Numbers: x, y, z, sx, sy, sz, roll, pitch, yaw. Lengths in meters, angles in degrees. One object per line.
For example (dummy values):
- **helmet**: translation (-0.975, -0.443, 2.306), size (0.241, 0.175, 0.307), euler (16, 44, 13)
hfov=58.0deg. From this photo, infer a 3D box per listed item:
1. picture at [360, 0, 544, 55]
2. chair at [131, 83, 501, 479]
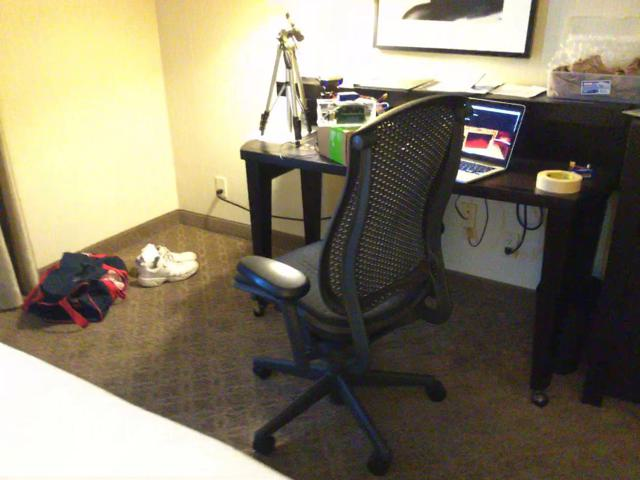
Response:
- **picture**: translation (0.450, -1.190, 2.150), size (0.710, 0.880, 0.070), euler (5, 21, 34)
- **chair**: translation (0.030, 0.110, 1.760), size (0.760, 1.070, 0.670), euler (11, 25, 37)
